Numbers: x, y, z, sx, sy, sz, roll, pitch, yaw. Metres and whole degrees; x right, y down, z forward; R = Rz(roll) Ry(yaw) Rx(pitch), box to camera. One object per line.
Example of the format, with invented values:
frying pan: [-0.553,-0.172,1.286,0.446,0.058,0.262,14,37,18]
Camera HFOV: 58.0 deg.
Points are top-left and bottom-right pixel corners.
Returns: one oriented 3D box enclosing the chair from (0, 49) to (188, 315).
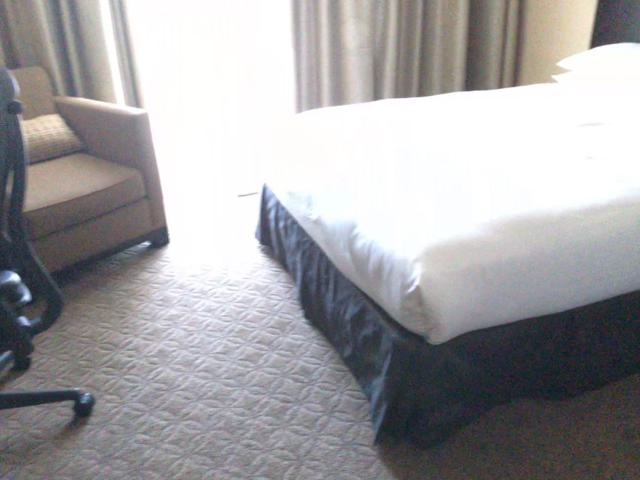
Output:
chair: [-1.320,-0.360,2.760,0.920,0.910,0.850,17,31,35]

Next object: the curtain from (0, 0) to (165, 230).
curtain: [-1.520,-1.030,2.890,1.150,1.920,0.300,-11,27,-19]

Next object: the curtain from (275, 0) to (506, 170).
curtain: [0.440,-1.460,3.530,1.370,1.850,0.380,-10,26,-17]
